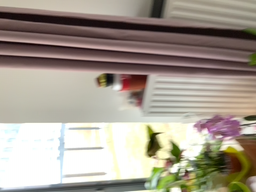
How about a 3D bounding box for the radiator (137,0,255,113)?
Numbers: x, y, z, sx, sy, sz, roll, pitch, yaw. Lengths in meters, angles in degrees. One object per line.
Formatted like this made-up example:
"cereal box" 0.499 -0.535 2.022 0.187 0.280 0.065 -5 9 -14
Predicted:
"radiator" 0.530 -0.260 1.180 0.150 0.850 0.740 -114 29 -59
